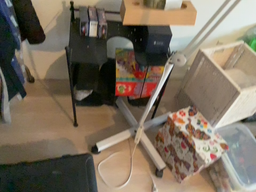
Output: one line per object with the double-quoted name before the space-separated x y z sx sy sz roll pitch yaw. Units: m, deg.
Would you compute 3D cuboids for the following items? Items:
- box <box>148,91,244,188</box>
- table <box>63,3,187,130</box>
"box" 0.380 0.270 1.330 0.290 0.390 0.400 -13 53 -20
"table" -0.070 -0.170 1.430 0.610 0.640 0.510 0 50 -10
